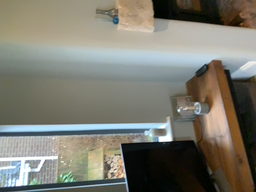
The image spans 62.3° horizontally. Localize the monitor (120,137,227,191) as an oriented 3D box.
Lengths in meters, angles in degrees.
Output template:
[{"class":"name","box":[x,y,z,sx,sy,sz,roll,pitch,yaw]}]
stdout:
[{"class":"monitor","box":[0.370,0.740,1.330,1.120,0.670,0.060,-105,22,-46]}]
